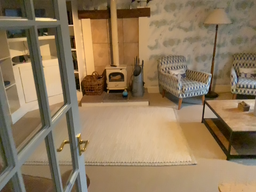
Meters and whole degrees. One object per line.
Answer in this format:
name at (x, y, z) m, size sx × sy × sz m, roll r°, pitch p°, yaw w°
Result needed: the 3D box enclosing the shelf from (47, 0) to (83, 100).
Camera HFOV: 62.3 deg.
shelf at (-1.240, -0.930, 4.310) m, size 0.360 × 1.970 × 0.480 m, roll -2°, pitch 20°, yaw -1°
